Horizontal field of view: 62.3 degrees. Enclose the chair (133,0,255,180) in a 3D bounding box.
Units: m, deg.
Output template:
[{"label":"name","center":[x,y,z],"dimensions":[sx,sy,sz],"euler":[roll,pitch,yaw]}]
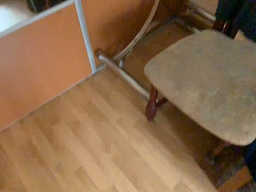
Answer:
[{"label":"chair","center":[0.390,-0.190,0.790],"dimensions":[0.610,1.020,0.430],"euler":[-37,62,-21]}]
